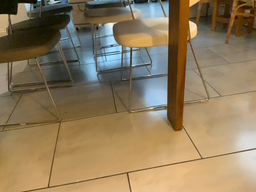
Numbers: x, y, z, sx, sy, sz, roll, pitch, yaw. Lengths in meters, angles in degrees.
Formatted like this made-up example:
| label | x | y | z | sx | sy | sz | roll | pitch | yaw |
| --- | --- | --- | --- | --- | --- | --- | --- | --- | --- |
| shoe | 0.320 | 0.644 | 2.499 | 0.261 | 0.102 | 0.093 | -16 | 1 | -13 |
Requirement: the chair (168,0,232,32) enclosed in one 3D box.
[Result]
| label | x | y | z | sx | sy | sz | roll | pitch | yaw |
| --- | --- | --- | --- | --- | --- | --- | --- | --- | --- |
| chair | 0.960 | -1.370 | 2.890 | 0.580 | 0.770 | 0.620 | -13 | 32 | -12 |

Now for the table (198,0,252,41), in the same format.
| label | x | y | z | sx | sy | sz | roll | pitch | yaw |
| --- | --- | --- | --- | --- | --- | --- | --- | --- | --- |
| table | 1.120 | -0.940 | 2.490 | 0.340 | 0.420 | 0.410 | -21 | 35 | -24 |

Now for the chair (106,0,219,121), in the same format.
| label | x | y | z | sx | sy | sz | roll | pitch | yaw |
| --- | --- | --- | --- | --- | --- | --- | --- | --- | --- |
| chair | 0.160 | -0.340 | 1.280 | 0.480 | 0.770 | 0.480 | -10 | 32 | -8 |
